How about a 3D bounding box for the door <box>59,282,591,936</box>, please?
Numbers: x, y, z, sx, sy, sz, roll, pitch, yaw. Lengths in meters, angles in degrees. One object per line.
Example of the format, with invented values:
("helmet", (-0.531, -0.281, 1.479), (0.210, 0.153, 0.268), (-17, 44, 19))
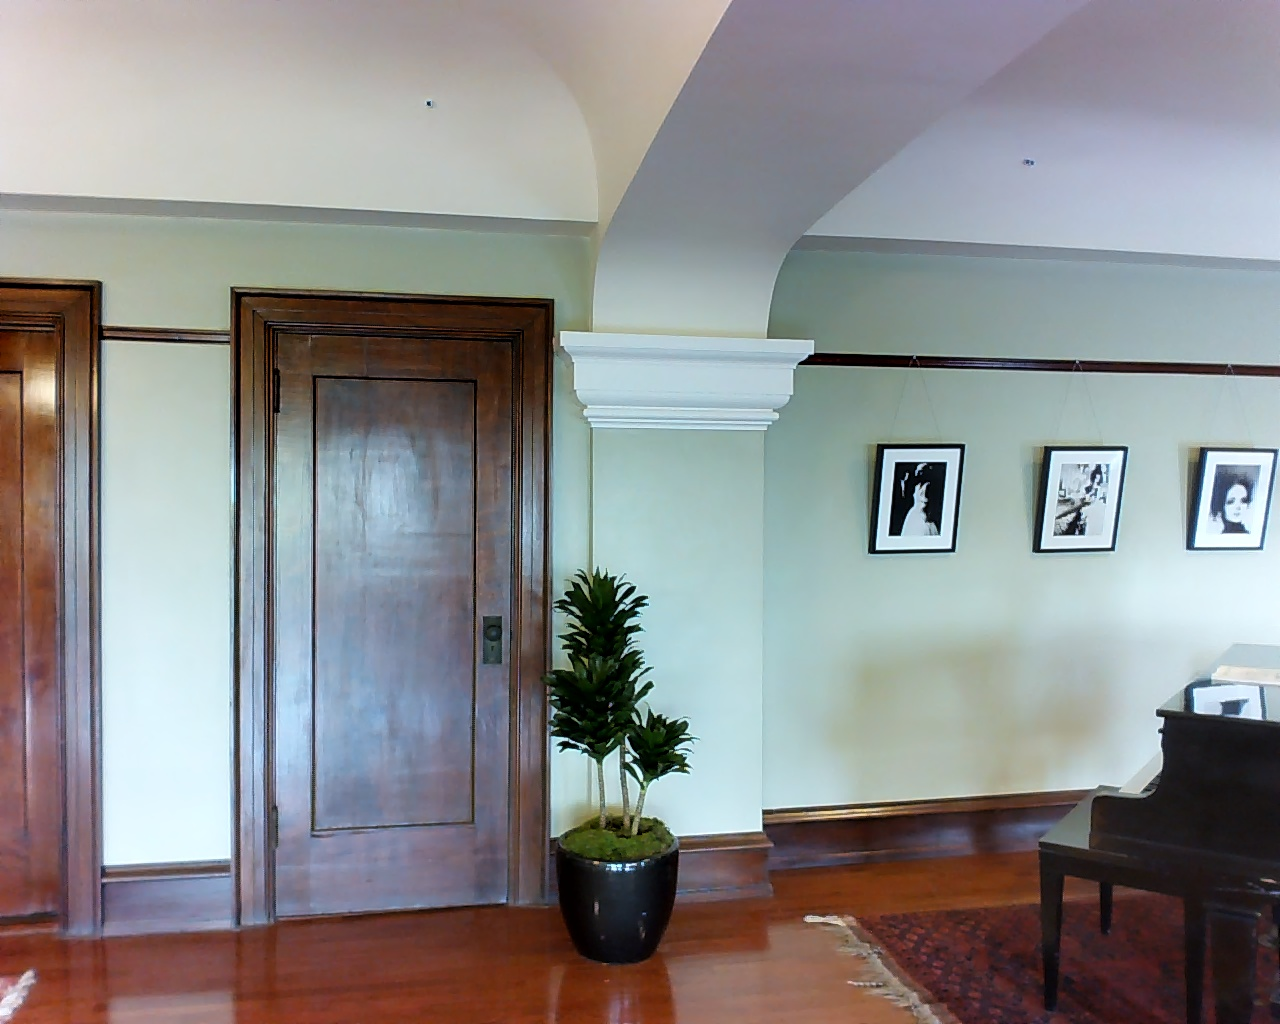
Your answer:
("door", (-1.090, 0.340, 3.880), (1.820, 2.230, 0.080), (0, 1, -11))
